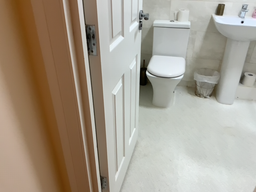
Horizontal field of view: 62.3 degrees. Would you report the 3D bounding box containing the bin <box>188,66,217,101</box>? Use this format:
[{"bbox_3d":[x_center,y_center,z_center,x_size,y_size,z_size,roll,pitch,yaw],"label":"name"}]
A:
[{"bbox_3d":[0.860,-0.150,2.450,0.250,0.280,0.250,11,33,16],"label":"bin"}]

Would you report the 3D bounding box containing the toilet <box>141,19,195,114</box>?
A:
[{"bbox_3d":[0.410,-0.330,2.250,0.420,0.790,0.610,7,32,11],"label":"toilet"}]

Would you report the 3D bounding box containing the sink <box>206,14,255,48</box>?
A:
[{"bbox_3d":[1.090,-0.620,2.000,0.610,0.190,0.440,7,32,11],"label":"sink"}]
